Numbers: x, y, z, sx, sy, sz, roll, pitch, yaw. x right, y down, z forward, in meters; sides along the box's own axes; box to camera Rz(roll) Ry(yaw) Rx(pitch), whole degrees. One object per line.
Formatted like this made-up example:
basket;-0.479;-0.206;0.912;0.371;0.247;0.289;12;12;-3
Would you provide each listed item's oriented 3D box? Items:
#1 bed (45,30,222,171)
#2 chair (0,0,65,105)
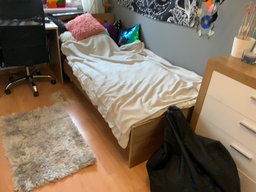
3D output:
bed;-0.180;-0.250;2.590;0.980;0.480;2.240;-15;37;-30
chair;-1.180;-0.580;2.420;0.640;1.070;0.660;-13;36;-28
